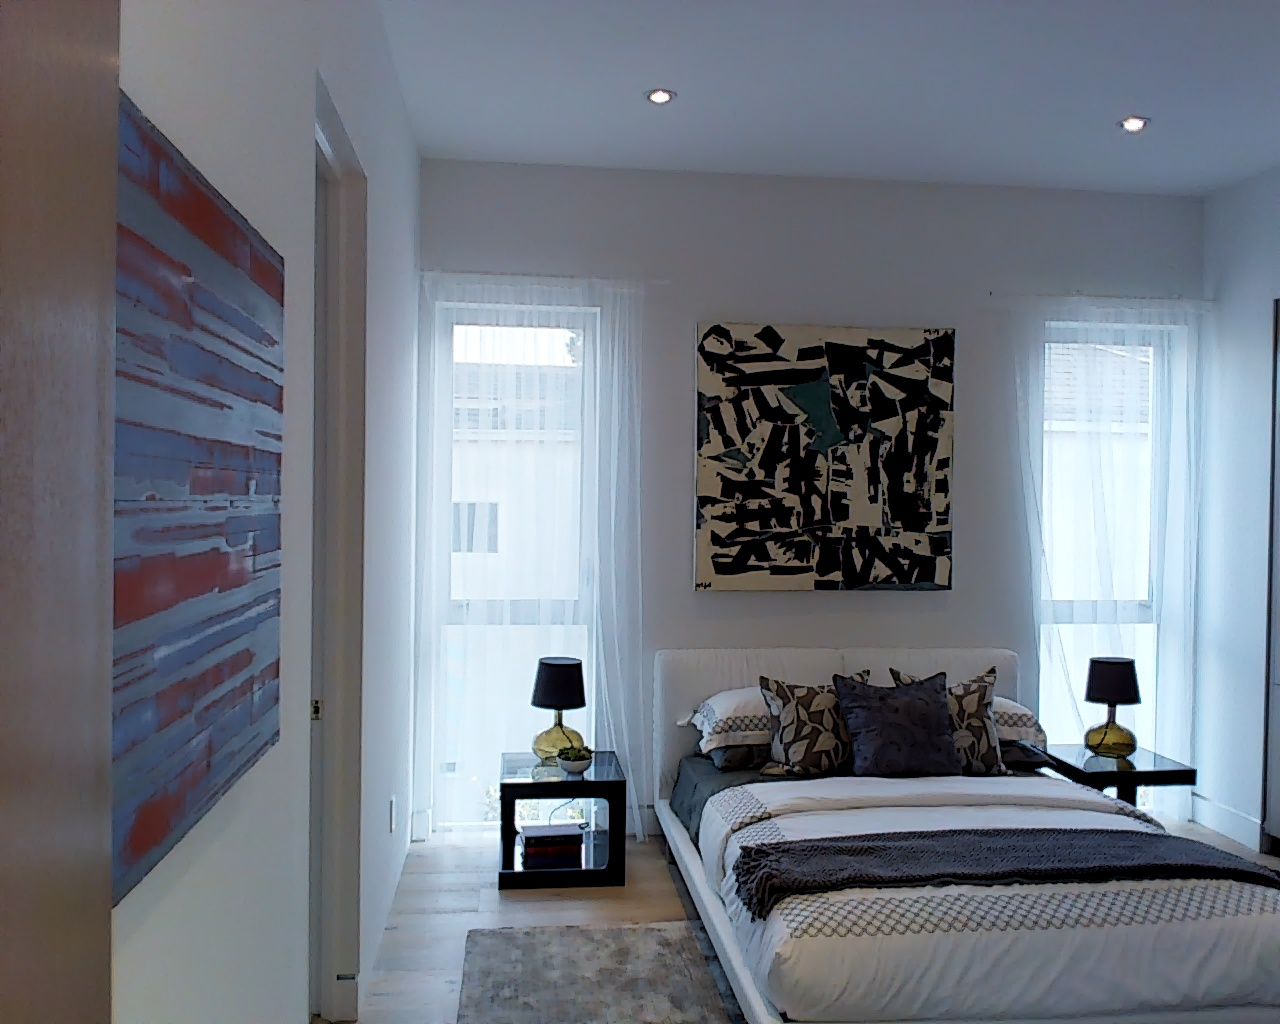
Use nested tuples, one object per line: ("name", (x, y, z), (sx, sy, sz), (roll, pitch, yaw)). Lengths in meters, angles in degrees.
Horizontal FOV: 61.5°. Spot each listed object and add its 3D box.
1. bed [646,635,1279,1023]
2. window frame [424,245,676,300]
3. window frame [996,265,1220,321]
("bed", (1.110, 1.060, 3.940), (1.889, 0.910, 2.320), (1, 1, -7))
("window frame", (-0.400, -1.070, 4.820), (1.110, 0.180, 0.130), (1, 1, -7))
("window frame", (2.229, -1.040, 5.120), (1.070, 0.210, 0.100), (1, 1, -7))
